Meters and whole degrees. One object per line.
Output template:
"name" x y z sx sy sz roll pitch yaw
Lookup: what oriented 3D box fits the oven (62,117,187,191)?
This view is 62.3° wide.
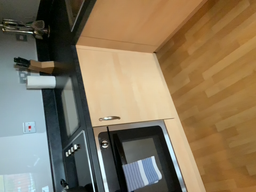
"oven" -0.060 0.580 1.600 0.600 0.630 0.630 -41 58 50

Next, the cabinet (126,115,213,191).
"cabinet" 0.310 0.570 1.850 0.580 0.260 0.630 -41 58 50
